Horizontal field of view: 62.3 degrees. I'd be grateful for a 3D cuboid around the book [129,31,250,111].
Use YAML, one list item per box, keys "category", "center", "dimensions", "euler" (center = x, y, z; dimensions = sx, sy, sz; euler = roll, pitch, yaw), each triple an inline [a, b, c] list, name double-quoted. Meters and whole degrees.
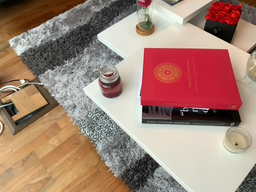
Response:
- category: "book"
  center: [0.220, -0.110, 0.860]
  dimensions: [0.400, 0.150, 0.280]
  euler: [3, 55, 6]
